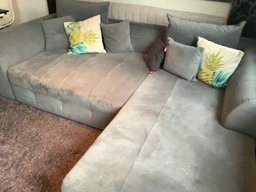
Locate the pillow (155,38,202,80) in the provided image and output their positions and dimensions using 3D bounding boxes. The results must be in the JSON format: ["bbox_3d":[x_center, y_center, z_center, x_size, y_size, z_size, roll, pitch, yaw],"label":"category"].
[{"bbox_3d":[0.460,-0.350,1.960,0.330,0.270,0.170,23,32,23],"label":"pillow"}]

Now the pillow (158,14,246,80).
[{"bbox_3d":[0.690,-0.490,2.080,0.660,0.450,0.230,16,27,9],"label":"pillow"}]

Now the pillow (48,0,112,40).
[{"bbox_3d":[-0.550,-0.960,2.490,0.630,0.370,0.330,13,29,-7],"label":"pillow"}]

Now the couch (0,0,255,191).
[{"bbox_3d":[-0.010,-0.380,2.240,2.670,0.840,1.500,17,37,19],"label":"couch"}]

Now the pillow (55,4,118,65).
[{"bbox_3d":[-0.450,-0.670,2.360,0.530,0.430,0.190,26,10,-9],"label":"pillow"}]

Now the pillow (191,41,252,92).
[{"bbox_3d":[0.780,-0.260,1.810,0.130,0.300,0.380,-11,35,-43],"label":"pillow"}]
